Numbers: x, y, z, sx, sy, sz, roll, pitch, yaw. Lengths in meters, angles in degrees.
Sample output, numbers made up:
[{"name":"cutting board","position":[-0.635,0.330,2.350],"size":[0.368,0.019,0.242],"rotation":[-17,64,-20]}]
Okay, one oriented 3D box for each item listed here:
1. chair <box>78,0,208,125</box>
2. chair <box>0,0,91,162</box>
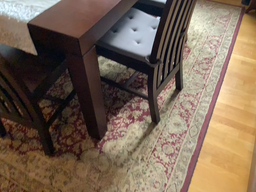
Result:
[{"name":"chair","position":[0.100,-0.390,1.210],"size":[0.520,1.020,0.450],"rotation":[24,54,20]},{"name":"chair","position":[-0.590,-0.200,1.060],"size":[0.450,1.020,0.520],"rotation":[20,52,17]}]
